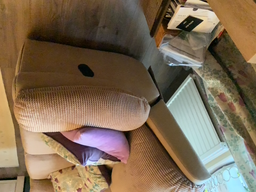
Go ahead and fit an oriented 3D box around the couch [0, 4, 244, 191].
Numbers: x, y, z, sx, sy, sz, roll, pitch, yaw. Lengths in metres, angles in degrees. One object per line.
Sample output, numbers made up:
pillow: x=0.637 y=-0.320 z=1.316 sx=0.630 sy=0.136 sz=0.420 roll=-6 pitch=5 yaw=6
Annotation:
couch: x=-0.290 y=0.450 z=1.730 sx=0.960 sy=1.030 sz=1.810 roll=1 pitch=143 yaw=-18
